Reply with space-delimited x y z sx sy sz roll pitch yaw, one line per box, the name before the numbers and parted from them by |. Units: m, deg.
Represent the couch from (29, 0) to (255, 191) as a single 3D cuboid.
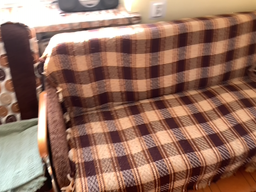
couch | 0.510 -0.020 1.530 2.060 0.840 1.000 -11 46 -14
